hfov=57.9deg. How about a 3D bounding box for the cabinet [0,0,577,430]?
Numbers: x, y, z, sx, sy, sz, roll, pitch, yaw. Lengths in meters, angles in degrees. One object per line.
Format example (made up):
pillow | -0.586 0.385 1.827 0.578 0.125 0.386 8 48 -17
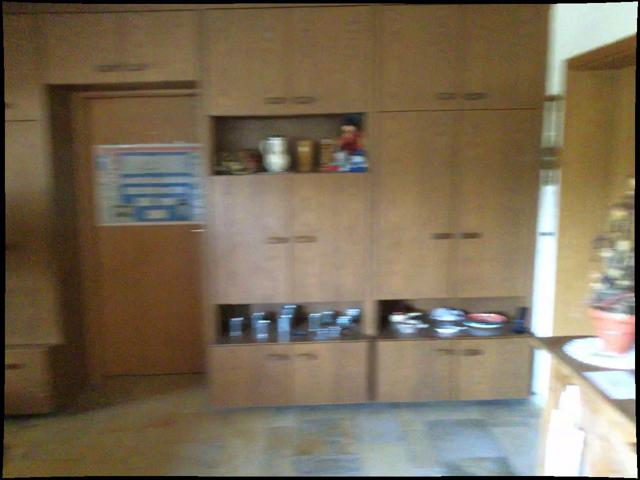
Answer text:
cabinet | -0.539 -0.220 3.480 3.716 2.462 0.790 0 8 -2

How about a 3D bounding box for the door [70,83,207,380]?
door | -1.209 -0.030 3.930 0.819 2.002 0.100 0 8 -2
